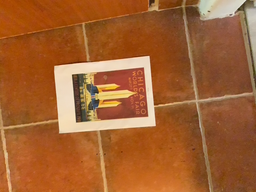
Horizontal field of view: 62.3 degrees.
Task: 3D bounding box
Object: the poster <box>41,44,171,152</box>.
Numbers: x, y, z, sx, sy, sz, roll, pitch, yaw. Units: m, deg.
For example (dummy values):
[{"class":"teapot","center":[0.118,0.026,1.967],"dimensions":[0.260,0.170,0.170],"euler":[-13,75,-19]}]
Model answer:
[{"class":"poster","center":[-0.070,0.010,0.640],"dimensions":[0.360,0.020,0.280],"euler":[-7,89,5]}]
